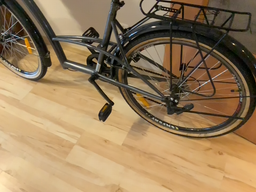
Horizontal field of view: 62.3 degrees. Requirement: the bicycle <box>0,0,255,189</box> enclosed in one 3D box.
[{"bbox_3d":[-0.180,-0.340,1.000,1.650,1.020,0.520,21,54,17],"label":"bicycle"}]
